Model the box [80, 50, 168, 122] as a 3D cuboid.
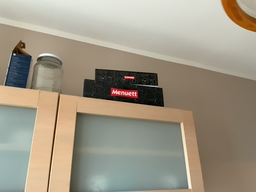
[{"bbox_3d":[-0.030,-0.030,1.030,0.350,0.220,0.230,8,-26,-21],"label":"box"}]
